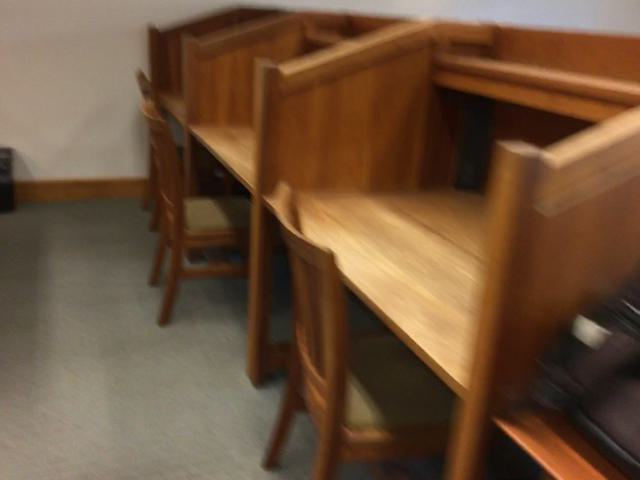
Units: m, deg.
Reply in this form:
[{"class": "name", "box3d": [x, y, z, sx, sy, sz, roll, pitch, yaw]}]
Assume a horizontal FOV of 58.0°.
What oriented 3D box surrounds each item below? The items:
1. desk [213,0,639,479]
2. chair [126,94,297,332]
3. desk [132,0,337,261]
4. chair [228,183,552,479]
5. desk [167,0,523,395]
[{"class": "desk", "box3d": [0.380, 0.050, 1.700, 1.010, 1.400, 1.290, -4, 22, -26]}, {"class": "chair", "box3d": [-0.540, -0.160, 2.710, 0.600, 0.920, 0.610, -4, 22, -26]}, {"class": "desk", "box3d": [-0.600, -0.740, 3.510, 0.860, 1.350, 1.110, -4, 22, -26]}, {"class": "chair", "box3d": [0.110, 0.360, 1.550, 0.520, 0.890, 0.580, -4, 22, -26]}, {"class": "desk", "box3d": [-0.070, -0.360, 2.700, 0.980, 1.420, 1.390, -4, 22, -26]}]
